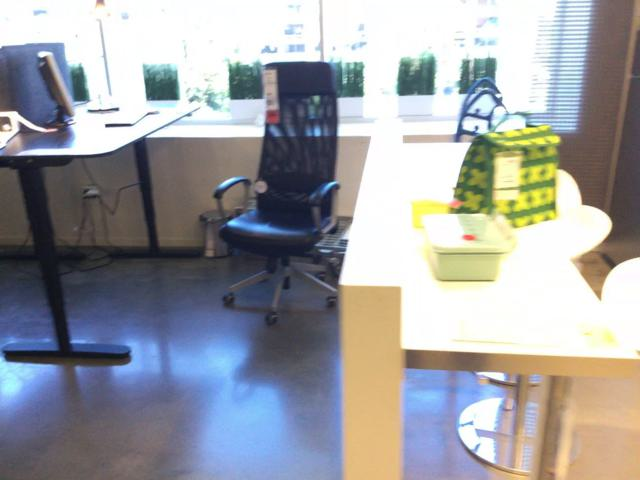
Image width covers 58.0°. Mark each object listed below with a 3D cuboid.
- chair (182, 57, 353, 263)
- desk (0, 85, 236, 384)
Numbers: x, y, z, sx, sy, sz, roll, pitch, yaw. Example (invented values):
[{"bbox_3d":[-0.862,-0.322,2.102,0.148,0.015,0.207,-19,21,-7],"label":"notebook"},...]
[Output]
[{"bbox_3d":[-0.230,-0.430,3.050,0.670,0.960,0.520,-2,17,12],"label":"chair"},{"bbox_3d":[-1.070,-0.140,3.060,0.810,1.200,1.350,-4,16,6],"label":"desk"}]
